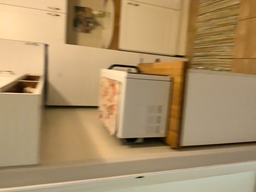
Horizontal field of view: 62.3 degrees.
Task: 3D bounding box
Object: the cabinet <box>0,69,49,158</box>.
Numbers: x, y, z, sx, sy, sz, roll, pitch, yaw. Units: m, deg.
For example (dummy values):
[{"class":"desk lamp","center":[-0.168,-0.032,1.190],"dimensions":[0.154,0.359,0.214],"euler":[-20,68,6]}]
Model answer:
[{"class":"cabinet","center":[-0.890,0.010,1.290],"dimensions":[1.130,0.750,0.350],"euler":[-163,75,-68]}]
